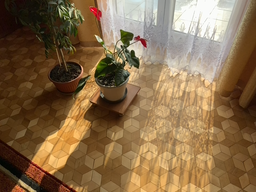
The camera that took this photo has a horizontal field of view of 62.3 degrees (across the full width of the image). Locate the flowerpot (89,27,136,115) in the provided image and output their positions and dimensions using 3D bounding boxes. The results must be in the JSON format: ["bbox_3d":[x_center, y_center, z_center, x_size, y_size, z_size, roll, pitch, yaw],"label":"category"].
[{"bbox_3d":[-0.090,-0.170,1.630,0.250,0.600,0.290,7,47,8],"label":"flowerpot"}]
